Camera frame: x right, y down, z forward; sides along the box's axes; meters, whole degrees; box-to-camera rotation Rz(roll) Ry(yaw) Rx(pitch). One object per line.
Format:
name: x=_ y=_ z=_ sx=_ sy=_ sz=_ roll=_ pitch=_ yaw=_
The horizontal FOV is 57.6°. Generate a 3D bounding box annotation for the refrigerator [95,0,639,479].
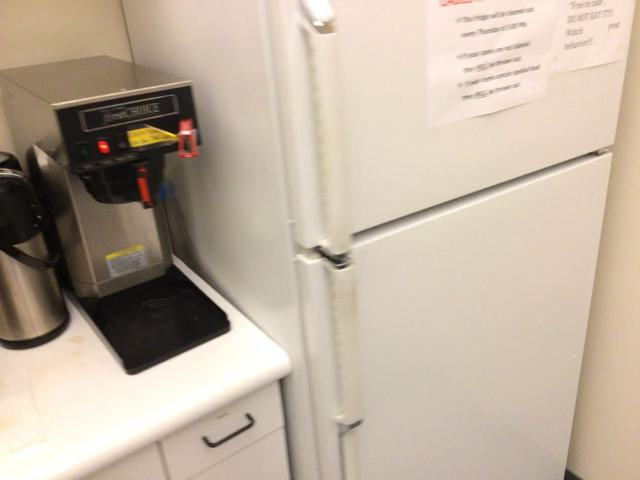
refrigerator: x=0.160 y=0.050 z=1.400 sx=0.850 sy=1.630 sz=0.870 roll=-21 pitch=31 yaw=-27

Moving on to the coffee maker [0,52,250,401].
coffee maker: x=-0.390 y=-0.060 z=1.090 sx=0.290 sy=0.480 sz=0.420 roll=-21 pitch=31 yaw=-27

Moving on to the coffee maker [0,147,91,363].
coffee maker: x=-0.590 y=0.030 z=1.080 sx=0.200 sy=0.340 sz=0.150 roll=-21 pitch=31 yaw=-27
